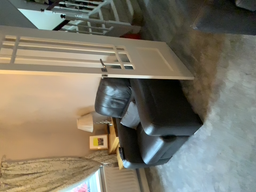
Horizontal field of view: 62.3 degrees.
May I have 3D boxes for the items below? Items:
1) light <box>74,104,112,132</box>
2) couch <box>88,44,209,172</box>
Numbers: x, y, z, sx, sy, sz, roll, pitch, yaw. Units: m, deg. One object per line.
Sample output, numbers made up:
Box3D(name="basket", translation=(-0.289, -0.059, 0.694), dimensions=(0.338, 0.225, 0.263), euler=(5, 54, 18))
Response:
Box3D(name="light", translation=(-0.550, 0.340, 3.280), dimensions=(0.330, 0.510, 0.280), euler=(114, 150, -46))
Box3D(name="couch", translation=(0.100, 0.170, 2.630), dimensions=(1.050, 0.930, 1.080), euler=(114, 149, -47))
